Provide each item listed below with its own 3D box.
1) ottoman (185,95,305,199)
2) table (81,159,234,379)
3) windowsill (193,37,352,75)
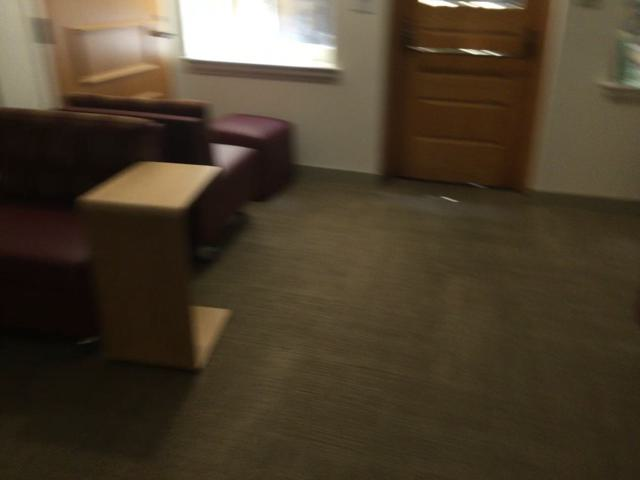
[{"bbox_3d":[-0.470,-0.630,3.790,0.560,0.480,0.560,12,27,20],"label":"ottoman"},{"bbox_3d":[-0.560,0.090,2.140,0.330,0.640,0.470,5,25,7],"label":"table"},{"bbox_3d":[-0.320,-1.230,3.840,1.030,0.150,0.240,9,26,15],"label":"windowsill"}]
